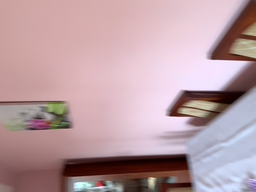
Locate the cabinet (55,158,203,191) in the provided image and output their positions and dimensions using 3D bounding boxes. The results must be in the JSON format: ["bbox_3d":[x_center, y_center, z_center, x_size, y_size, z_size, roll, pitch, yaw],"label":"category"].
[{"bbox_3d":[0.020,1.380,3.160,0.540,2.040,0.660,107,160,-60],"label":"cabinet"}]
